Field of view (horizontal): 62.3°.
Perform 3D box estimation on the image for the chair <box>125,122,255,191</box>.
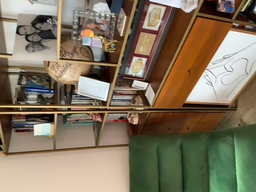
[{"bbox_3d":[0.550,0.480,1.400,0.800,0.920,0.550,149,121,-67],"label":"chair"}]
